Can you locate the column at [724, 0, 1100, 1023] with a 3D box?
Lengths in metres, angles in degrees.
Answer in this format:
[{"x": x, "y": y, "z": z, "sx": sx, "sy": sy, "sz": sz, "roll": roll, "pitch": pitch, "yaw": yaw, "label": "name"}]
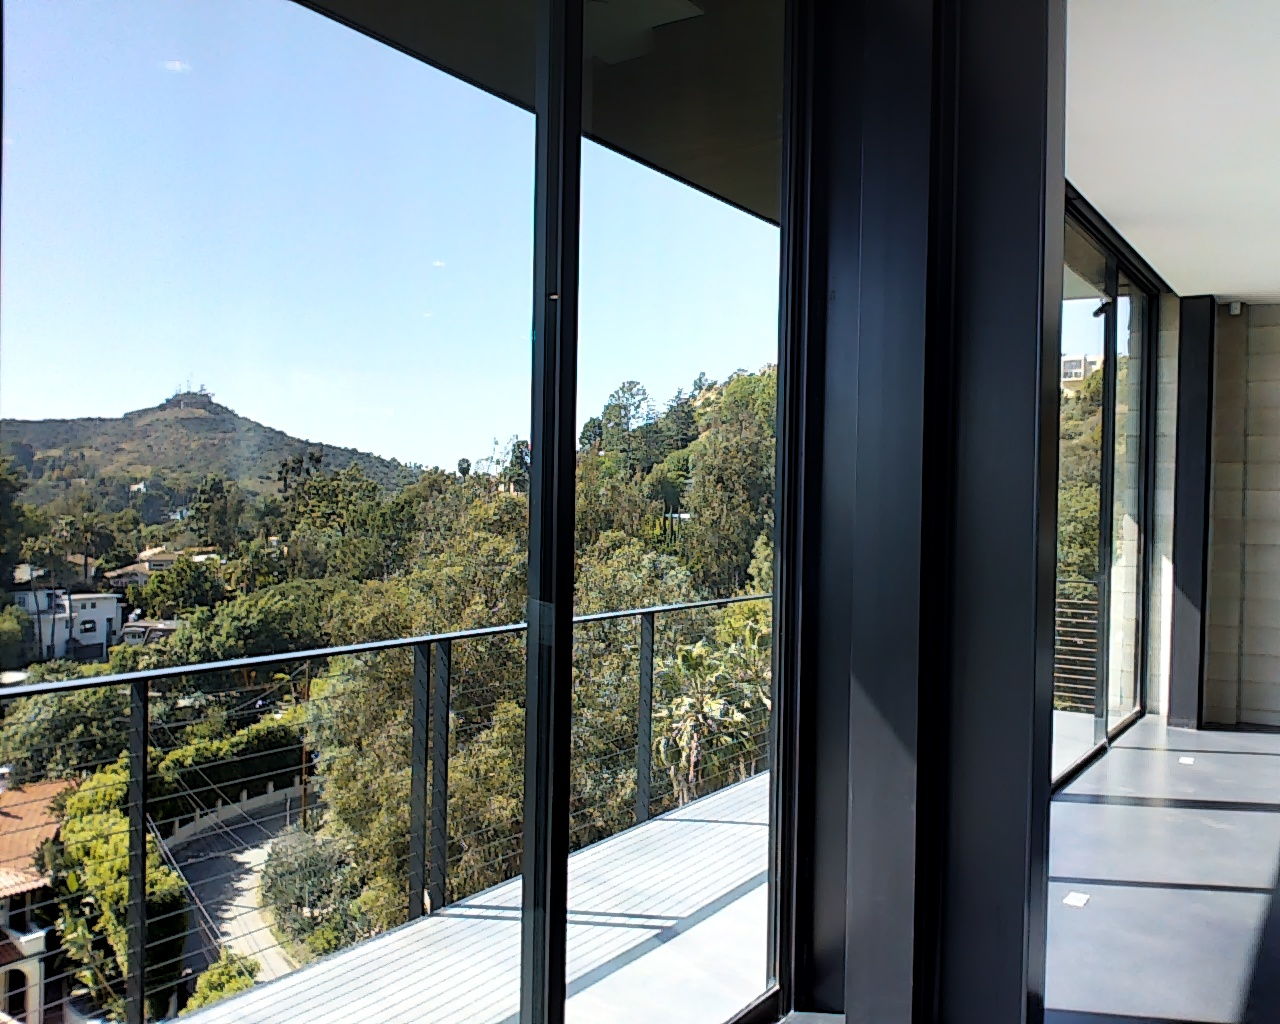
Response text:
[{"x": 0.820, "y": -0.050, "z": 3.300, "sx": 0.940, "sy": 3.250, "sz": 0.430, "roll": 2, "pitch": 1, "yaw": 32, "label": "column"}]
